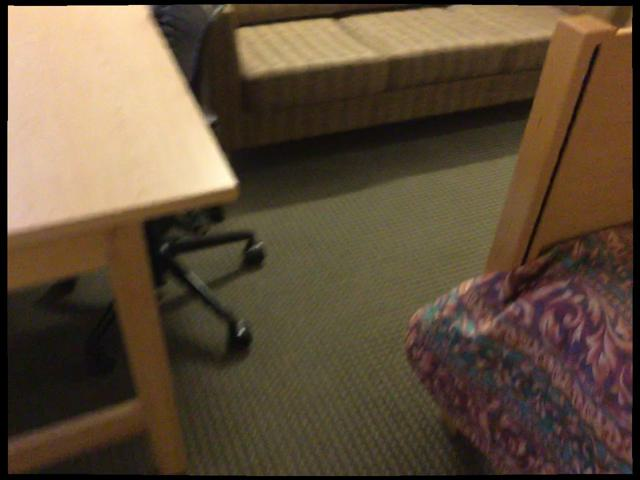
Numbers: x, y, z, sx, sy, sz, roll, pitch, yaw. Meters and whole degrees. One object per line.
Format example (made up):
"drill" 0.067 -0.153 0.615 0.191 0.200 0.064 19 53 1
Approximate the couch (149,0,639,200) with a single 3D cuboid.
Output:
"couch" 0.329 -1.002 2.650 2.017 0.821 1.010 -13 43 -17
